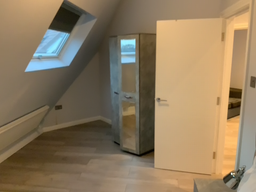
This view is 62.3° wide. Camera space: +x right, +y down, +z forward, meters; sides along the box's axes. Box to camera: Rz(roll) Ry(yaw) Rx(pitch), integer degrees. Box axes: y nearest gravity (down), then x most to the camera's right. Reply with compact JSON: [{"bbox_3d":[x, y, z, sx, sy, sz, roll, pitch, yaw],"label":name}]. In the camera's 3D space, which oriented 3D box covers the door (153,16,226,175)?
[{"bbox_3d":[0.750,0.040,2.750,0.790,2.010,0.070,3,12,14],"label":"door"}]
